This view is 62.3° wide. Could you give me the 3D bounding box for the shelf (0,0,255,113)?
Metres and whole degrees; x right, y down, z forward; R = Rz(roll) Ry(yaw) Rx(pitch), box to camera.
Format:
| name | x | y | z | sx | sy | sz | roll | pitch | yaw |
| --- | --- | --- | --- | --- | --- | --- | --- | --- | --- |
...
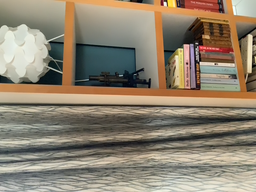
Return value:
| name | x | y | z | sx | sy | sz | roll | pitch | yaw |
| --- | --- | --- | --- | --- | --- | --- | --- | --- | --- |
| shelf | -0.130 | -0.400 | 1.190 | 0.420 | 2.100 | 0.910 | 134 | 137 | -71 |
